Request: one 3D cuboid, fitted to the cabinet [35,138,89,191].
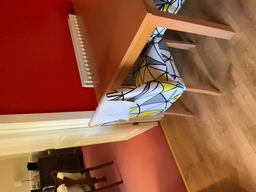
[{"bbox_3d":[-1.450,1.530,4.560,0.440,0.920,1.030,-58,43,44],"label":"cabinet"}]
